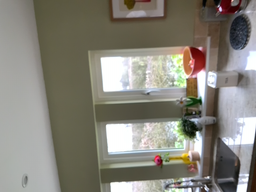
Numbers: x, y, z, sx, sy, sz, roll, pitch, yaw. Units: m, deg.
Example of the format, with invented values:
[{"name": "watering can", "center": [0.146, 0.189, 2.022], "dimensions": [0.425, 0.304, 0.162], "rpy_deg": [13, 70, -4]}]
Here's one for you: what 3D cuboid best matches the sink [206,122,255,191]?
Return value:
[{"name": "sink", "center": [0.890, 0.600, 1.760], "dimensions": [0.490, 0.240, 0.610], "rpy_deg": [-99, 7, -72]}]
